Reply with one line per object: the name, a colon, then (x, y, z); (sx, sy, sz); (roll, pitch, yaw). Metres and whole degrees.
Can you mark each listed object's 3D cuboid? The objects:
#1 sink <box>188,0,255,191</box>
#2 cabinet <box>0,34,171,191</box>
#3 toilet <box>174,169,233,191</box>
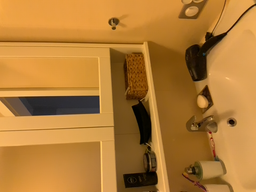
sink: (0.460, 0.070, 0.790); (0.480, 0.130, 0.830); (109, 159, -64)
cabinet: (-0.370, 0.150, 0.810); (0.150, 0.990, 0.830); (109, 159, -64)
toilet: (0.300, 0.390, 0.830); (0.090, 0.190, 0.170); (105, 162, -60)
